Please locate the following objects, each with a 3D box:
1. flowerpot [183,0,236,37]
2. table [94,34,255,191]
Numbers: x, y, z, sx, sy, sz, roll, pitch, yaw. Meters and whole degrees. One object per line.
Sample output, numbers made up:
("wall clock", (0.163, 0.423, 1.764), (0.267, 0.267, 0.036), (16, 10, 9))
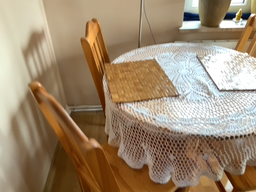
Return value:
("flowerpot", (0.610, -0.660, 1.610), (0.280, 0.340, 0.210), (-4, 35, -4))
("table", (0.310, 0.140, 1.350), (0.900, 0.750, 0.900), (-3, 35, -2))
